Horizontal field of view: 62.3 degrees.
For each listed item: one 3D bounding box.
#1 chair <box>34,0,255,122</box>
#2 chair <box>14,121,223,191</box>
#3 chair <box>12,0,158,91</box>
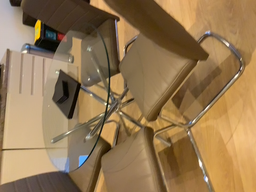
[{"bbox_3d":[0.130,-0.230,1.100,0.570,0.980,0.440,-53,47,31],"label":"chair"},{"bbox_3d":[0.000,0.510,1.120,0.460,0.980,0.570,-42,53,39],"label":"chair"},{"bbox_3d":[-0.280,-0.420,1.640,0.430,0.980,0.570,-16,71,49],"label":"chair"}]
